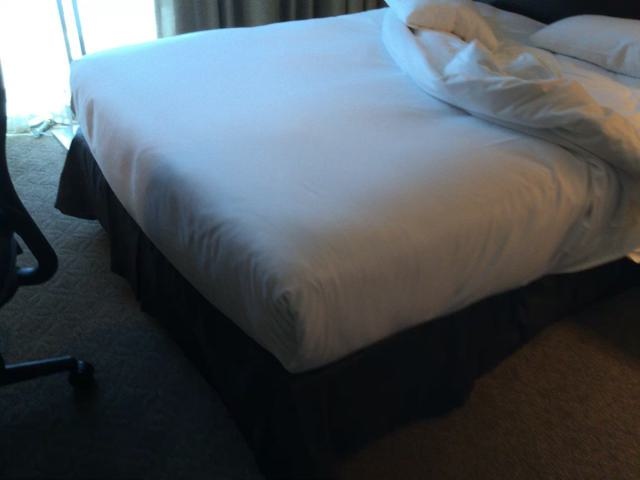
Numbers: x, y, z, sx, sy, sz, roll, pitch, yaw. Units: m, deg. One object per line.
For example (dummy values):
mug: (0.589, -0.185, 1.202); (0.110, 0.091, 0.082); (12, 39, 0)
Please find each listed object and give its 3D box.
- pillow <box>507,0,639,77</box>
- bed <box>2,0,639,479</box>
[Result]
pillow: (1.110, -0.750, 2.100); (0.430, 0.150, 0.690); (-19, 38, -29)
bed: (0.320, -0.620, 1.880); (2.120, 1.540, 1.780); (-19, 38, -29)
